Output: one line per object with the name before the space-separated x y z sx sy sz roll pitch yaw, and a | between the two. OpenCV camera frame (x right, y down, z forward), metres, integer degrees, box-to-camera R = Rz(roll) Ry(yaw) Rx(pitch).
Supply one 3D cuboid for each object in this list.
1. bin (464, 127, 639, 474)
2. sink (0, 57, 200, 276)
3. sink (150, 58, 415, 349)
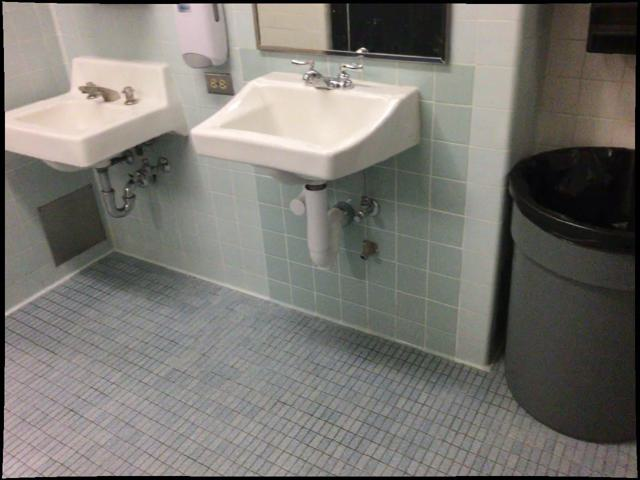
bin | 0.808 0.140 1.690 0.549 0.701 0.610 14 36 27
sink | -0.878 -0.301 2.130 0.599 0.581 0.470 14 36 27
sink | -0.070 -0.140 1.700 0.549 0.631 0.460 14 36 27
